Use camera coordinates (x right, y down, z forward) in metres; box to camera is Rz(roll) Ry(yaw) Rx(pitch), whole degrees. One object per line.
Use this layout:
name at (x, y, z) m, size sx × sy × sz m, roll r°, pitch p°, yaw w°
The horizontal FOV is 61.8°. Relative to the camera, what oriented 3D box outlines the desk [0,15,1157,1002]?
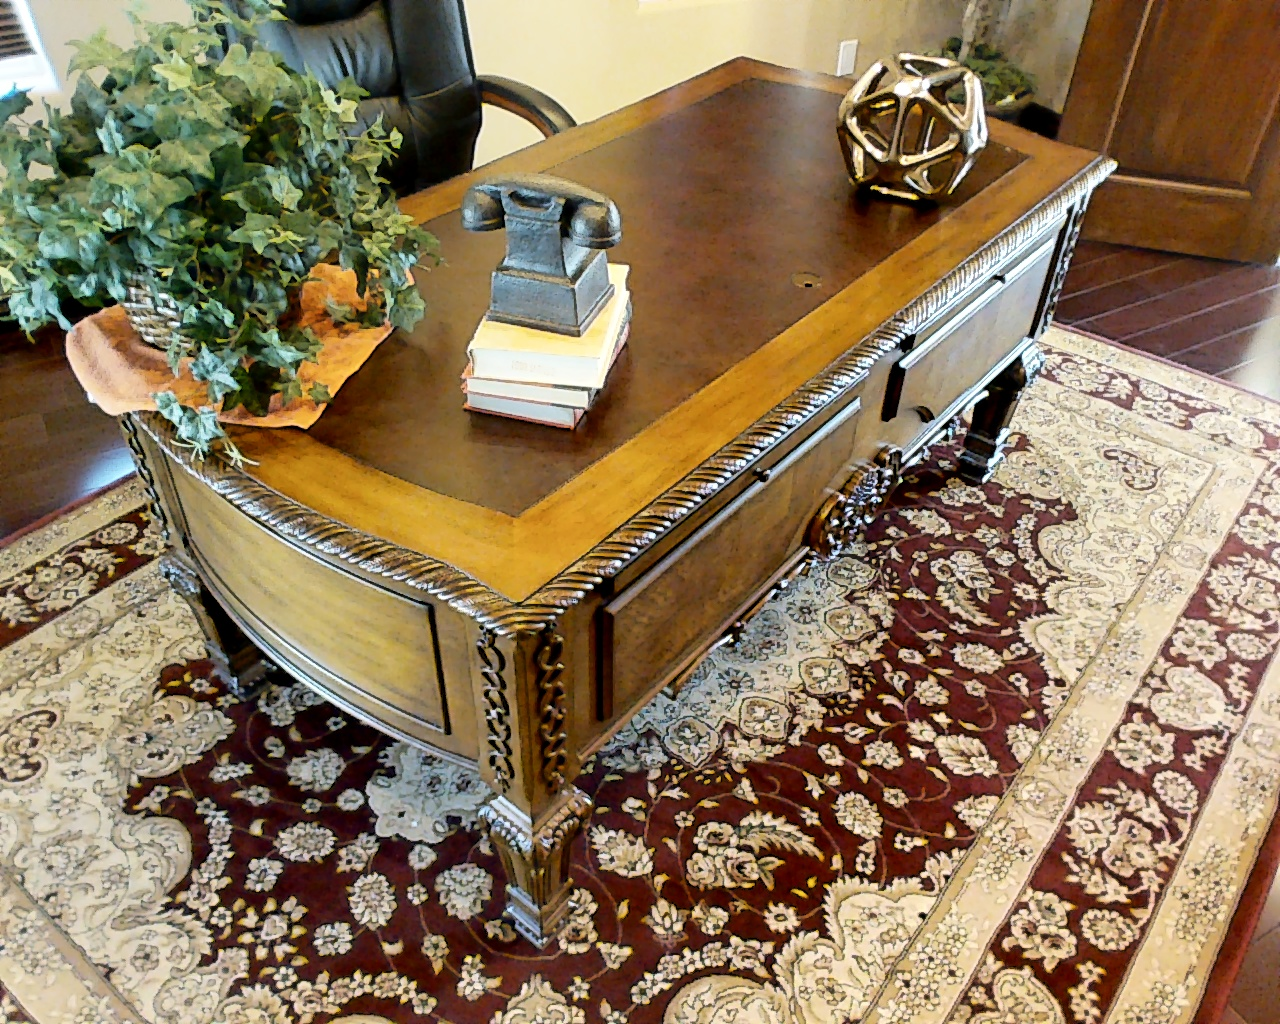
desk at (0.050, -0.240, 2.060) m, size 0.970 × 0.780 × 1.820 m, roll 30°, pitch 48°, yaw 28°
